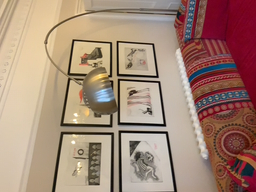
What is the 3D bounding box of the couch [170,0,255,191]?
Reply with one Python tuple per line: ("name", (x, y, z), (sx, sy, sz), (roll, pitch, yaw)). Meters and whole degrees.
("couch", (1.090, -0.260, 1.920), (1.030, 0.770, 2.470), (101, 167, -58))
